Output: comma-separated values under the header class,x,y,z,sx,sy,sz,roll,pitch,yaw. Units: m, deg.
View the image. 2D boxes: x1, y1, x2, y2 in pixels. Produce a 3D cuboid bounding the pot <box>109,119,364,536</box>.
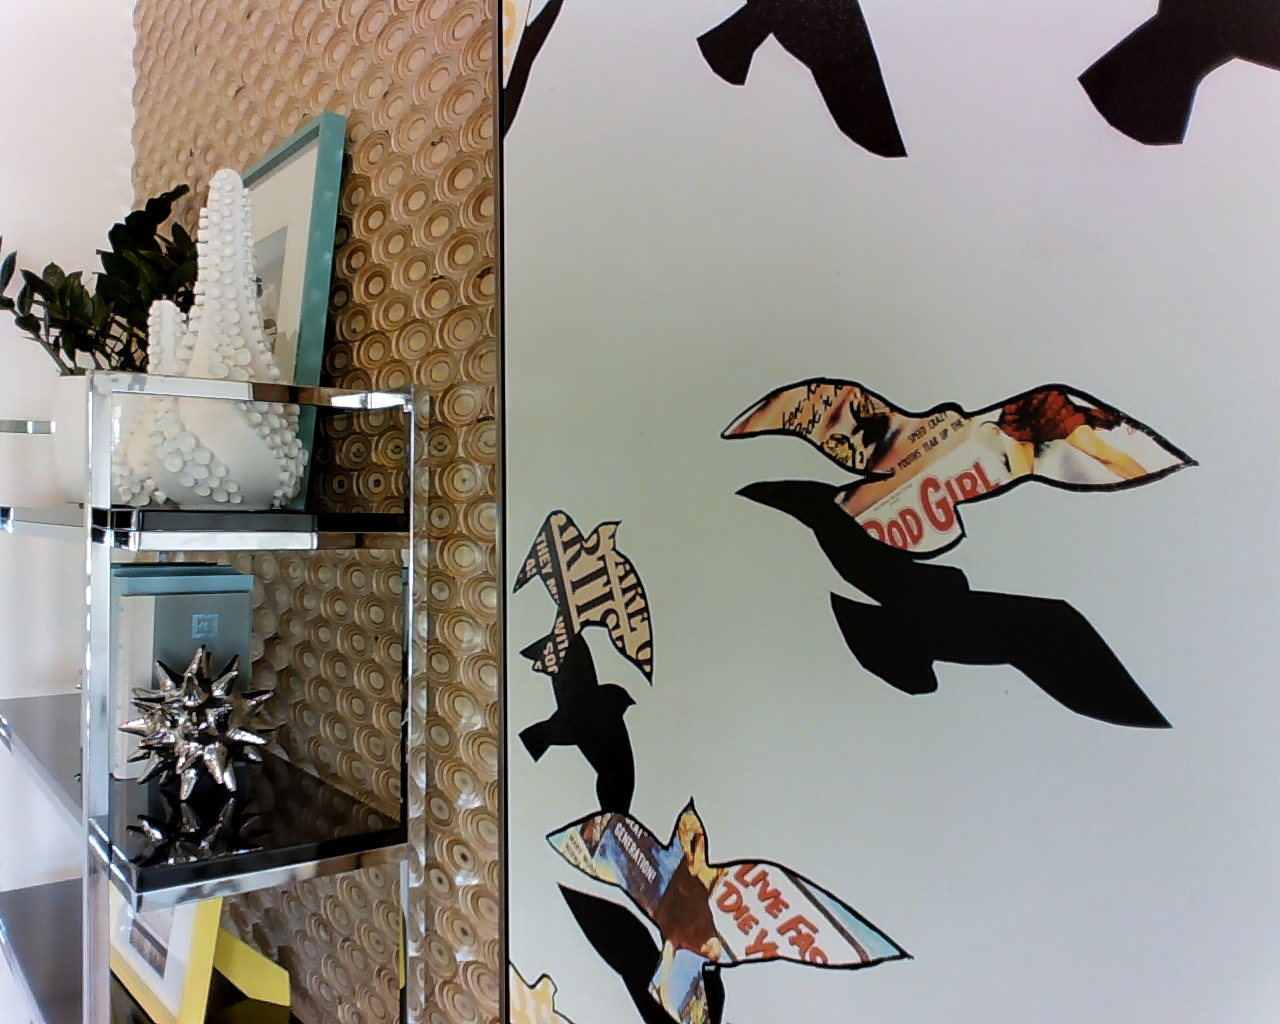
class,x,y,z,sx,sy,sz,roll,pitch,yaw
pot,-0.470,-0.180,1.230,0.190,0.410,0.300,1,-1,-38
